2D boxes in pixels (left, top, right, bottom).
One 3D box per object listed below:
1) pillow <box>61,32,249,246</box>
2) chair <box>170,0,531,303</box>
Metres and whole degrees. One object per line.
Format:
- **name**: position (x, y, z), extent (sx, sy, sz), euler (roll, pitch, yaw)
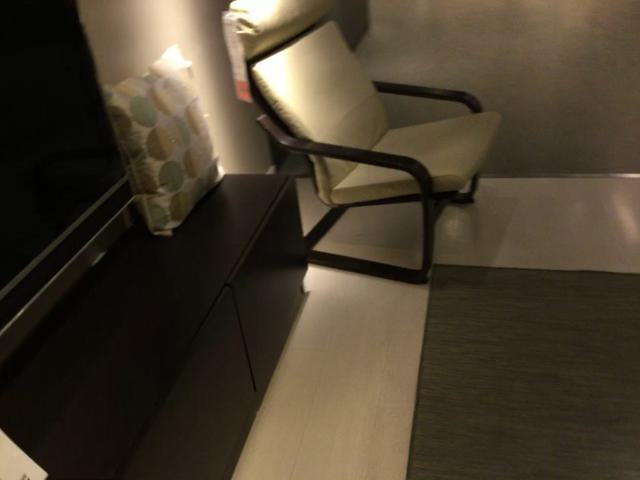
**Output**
- **pillow**: position (-0.450, -0.320, 1.750), extent (0.230, 0.450, 0.530), euler (-4, 32, 14)
- **chair**: position (0.200, -0.450, 2.130), extent (0.960, 0.950, 0.770), euler (7, 35, 29)
